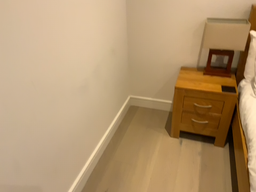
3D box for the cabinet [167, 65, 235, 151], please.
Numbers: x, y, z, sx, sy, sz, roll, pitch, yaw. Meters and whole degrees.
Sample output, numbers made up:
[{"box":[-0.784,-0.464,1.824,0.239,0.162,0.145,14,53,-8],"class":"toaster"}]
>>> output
[{"box":[0.660,0.090,1.970,0.470,0.550,0.470,10,34,17],"class":"cabinet"}]
